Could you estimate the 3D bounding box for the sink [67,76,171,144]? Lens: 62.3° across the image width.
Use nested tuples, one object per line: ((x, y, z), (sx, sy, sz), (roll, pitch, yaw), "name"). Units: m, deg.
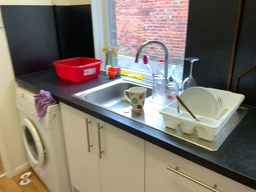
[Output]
((-0.050, 0.050, 1.450), (0.480, 0.180, 0.510), (17, 28, 37), "sink")
